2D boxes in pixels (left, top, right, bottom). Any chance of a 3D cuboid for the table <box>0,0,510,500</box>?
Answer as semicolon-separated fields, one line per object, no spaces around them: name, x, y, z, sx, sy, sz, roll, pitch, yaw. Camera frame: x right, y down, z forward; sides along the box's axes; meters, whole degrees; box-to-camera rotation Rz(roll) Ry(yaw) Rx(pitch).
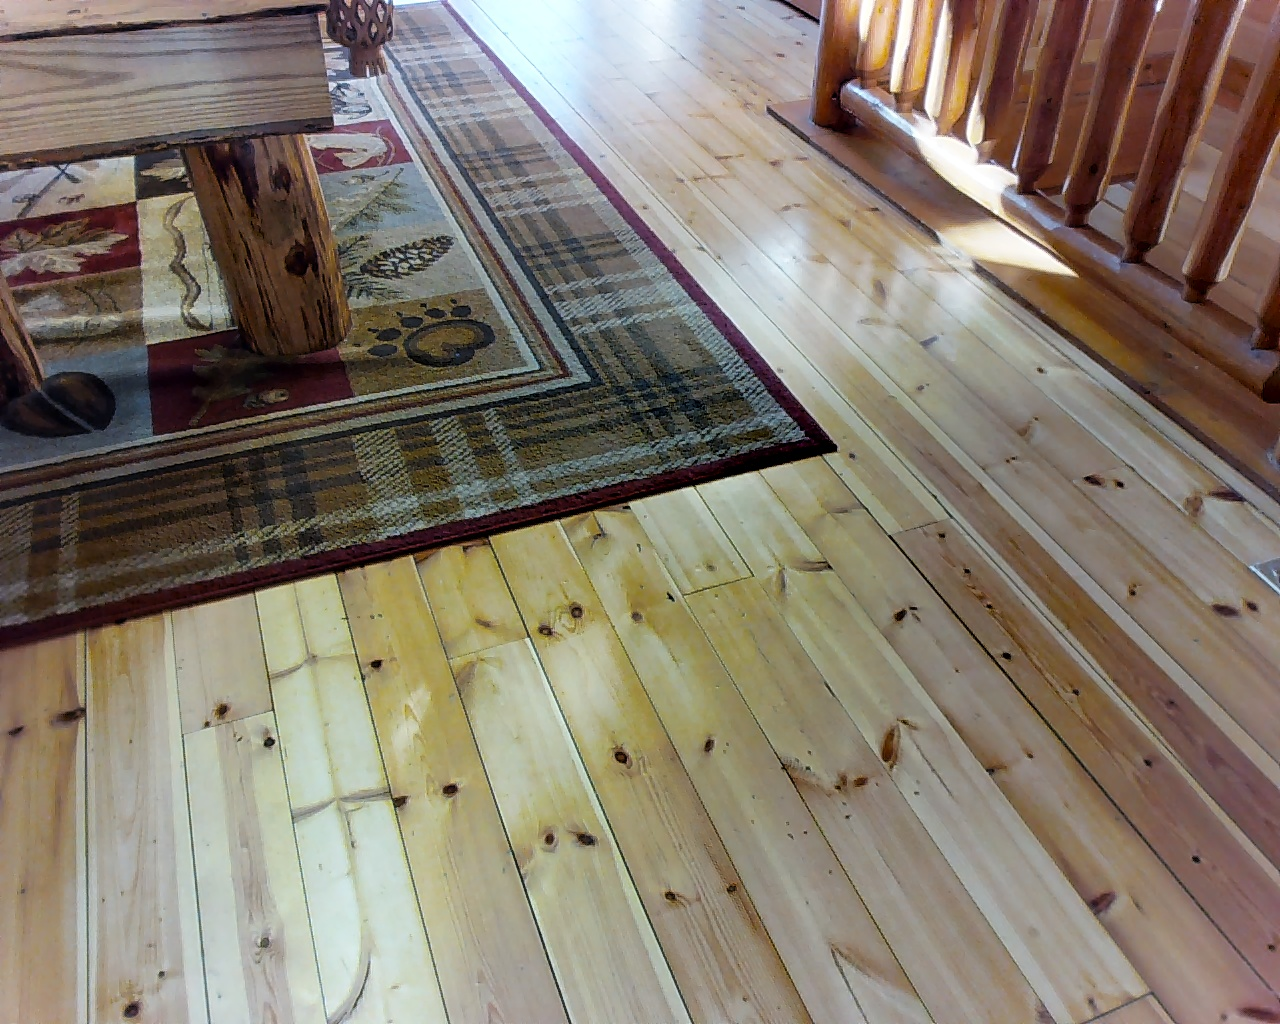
table;-1.270;-1.090;2.450;1.320;0.880;2.210;-14;43;-16
